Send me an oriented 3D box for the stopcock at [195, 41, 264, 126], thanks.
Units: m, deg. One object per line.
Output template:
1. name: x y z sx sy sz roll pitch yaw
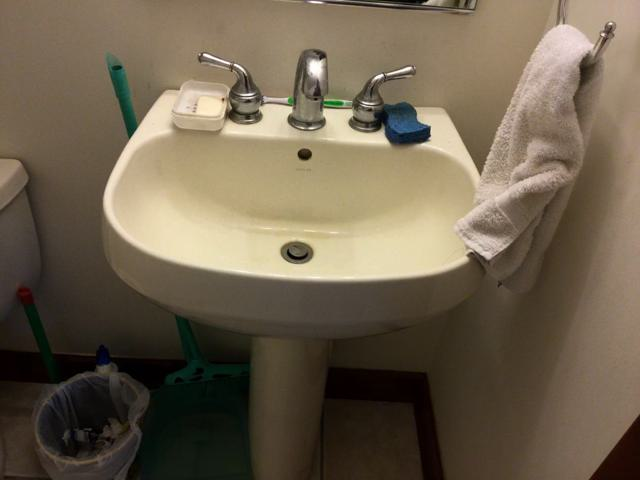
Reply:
1. stopcock: -0.140 -0.250 0.920 0.090 0.090 0.110 2 39 -1

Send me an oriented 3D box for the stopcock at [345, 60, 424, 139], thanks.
1. stopcock: 0.100 -0.230 0.940 0.110 0.080 0.110 2 39 -1

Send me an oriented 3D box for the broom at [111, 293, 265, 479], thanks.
1. broom: -0.270 0.360 1.320 0.260 0.350 0.310 2 39 -1

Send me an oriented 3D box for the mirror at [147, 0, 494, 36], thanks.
1. mirror: 0.000 -0.370 0.900 0.520 0.060 0.060 2 39 -1
